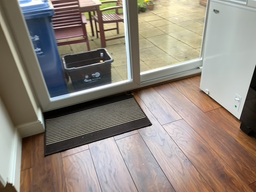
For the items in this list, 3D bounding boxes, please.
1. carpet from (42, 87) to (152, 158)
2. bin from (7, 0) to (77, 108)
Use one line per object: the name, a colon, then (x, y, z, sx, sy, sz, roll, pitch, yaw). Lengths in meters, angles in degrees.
carpet: (-0.280, 0.170, 1.750, 0.800, 0.040, 0.530, -15, 36, -15)
bin: (-0.890, -0.530, 2.290, 0.350, 1.100, 0.630, -16, 36, -16)
